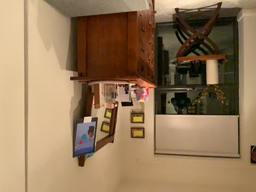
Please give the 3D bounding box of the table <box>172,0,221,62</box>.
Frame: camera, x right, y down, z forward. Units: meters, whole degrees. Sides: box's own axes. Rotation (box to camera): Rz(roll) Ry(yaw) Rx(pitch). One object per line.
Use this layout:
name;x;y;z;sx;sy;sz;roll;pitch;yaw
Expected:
table;0.940;-0.850;2.900;0.590;0.670;0.450;0;180;21
